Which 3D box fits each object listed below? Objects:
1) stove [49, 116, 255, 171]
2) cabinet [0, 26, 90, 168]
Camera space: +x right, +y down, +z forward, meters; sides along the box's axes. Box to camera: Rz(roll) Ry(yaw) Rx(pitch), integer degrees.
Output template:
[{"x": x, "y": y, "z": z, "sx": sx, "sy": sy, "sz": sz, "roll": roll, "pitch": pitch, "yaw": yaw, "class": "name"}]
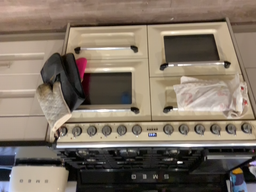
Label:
[{"x": 0.160, "y": 0.340, "z": 1.370, "sx": 1.100, "sy": 0.170, "sz": 0.610, "roll": -2, "pitch": 152, "yaw": 3, "class": "stove"}, {"x": -0.960, "y": 0.040, "z": 1.620, "sx": 1.150, "sy": 0.890, "sz": 0.580, "roll": -2, "pitch": 152, "yaw": 3, "class": "cabinet"}]
